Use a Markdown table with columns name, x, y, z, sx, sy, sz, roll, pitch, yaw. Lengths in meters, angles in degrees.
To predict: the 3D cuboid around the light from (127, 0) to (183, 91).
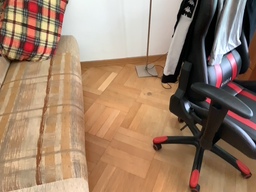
| name | x | y | z | sx | sy | sz | roll | pitch | yaw |
| --- | --- | --- | --- | --- | --- | --- | --- | --- | --- |
| light | 0.230 | -0.750 | 2.020 | 0.350 | 1.430 | 0.430 | -7 | 42 | -11 |

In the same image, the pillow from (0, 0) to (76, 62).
| name | x | y | z | sx | sy | sz | roll | pitch | yaw |
| --- | --- | --- | --- | --- | --- | --- | --- | --- | --- |
| pillow | -0.790 | -0.660 | 1.850 | 0.580 | 0.570 | 0.360 | -6 | 41 | -9 |

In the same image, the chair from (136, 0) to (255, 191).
| name | x | y | z | sx | sy | sz | roll | pitch | yaw |
| --- | --- | --- | --- | --- | --- | --- | --- | --- | --- |
| chair | 0.550 | -0.080 | 1.130 | 0.660 | 1.370 | 0.690 | -26 | 48 | -29 |
